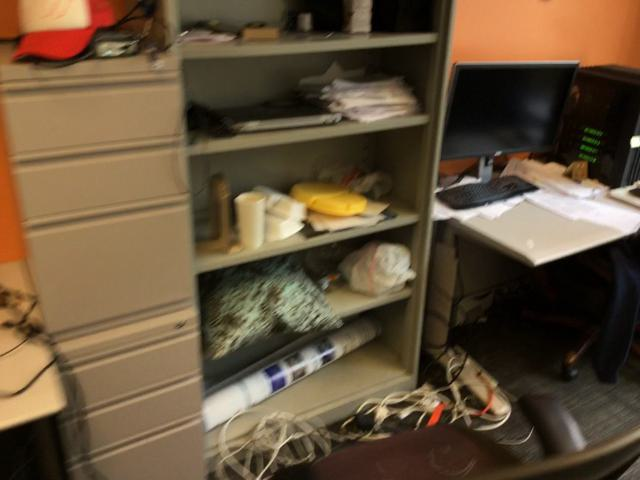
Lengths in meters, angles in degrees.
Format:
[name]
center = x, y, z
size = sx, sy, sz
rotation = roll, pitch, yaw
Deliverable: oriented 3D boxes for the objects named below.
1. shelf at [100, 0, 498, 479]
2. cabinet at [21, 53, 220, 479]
[shelf]
center = -0.070, -0.320, 1.850
size = 1.030, 2.020, 0.540
rotation = -11, 26, -28
[cabinet]
center = -0.550, 0.160, 1.670
size = 0.340, 1.290, 0.470
rotation = -11, 26, -28
